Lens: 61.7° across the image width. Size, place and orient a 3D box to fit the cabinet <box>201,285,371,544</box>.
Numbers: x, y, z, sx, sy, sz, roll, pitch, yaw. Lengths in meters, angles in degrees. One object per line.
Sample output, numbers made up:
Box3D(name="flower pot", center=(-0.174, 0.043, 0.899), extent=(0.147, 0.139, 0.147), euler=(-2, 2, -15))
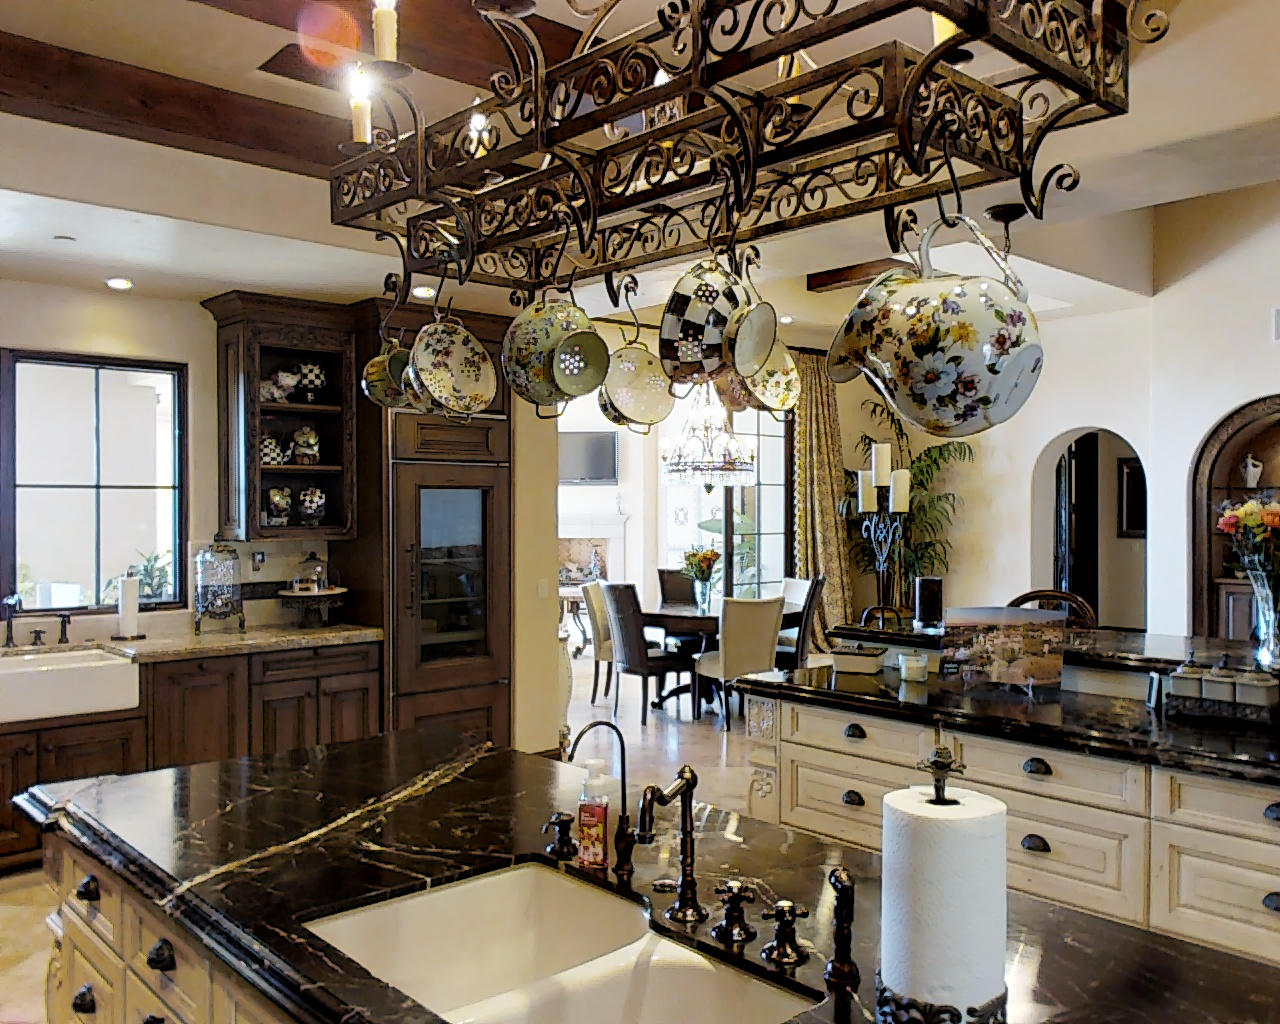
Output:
Box3D(name="cabinet", center=(-1.900, -0.490, 5.770), extent=(0.740, 1.290, 0.470), euler=(-1, 1, -42))

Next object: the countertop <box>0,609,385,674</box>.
Box3D(name="countertop", center=(-3.050, 0.630, 4.610), extent=(3.990, 0.100, 0.620), euler=(-1, 1, -42))

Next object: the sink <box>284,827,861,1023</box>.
Box3D(name="sink", center=(-0.130, 0.760, 1.600), extent=(0.500, 0.310, 0.750), euler=(-1, 1, -42))
